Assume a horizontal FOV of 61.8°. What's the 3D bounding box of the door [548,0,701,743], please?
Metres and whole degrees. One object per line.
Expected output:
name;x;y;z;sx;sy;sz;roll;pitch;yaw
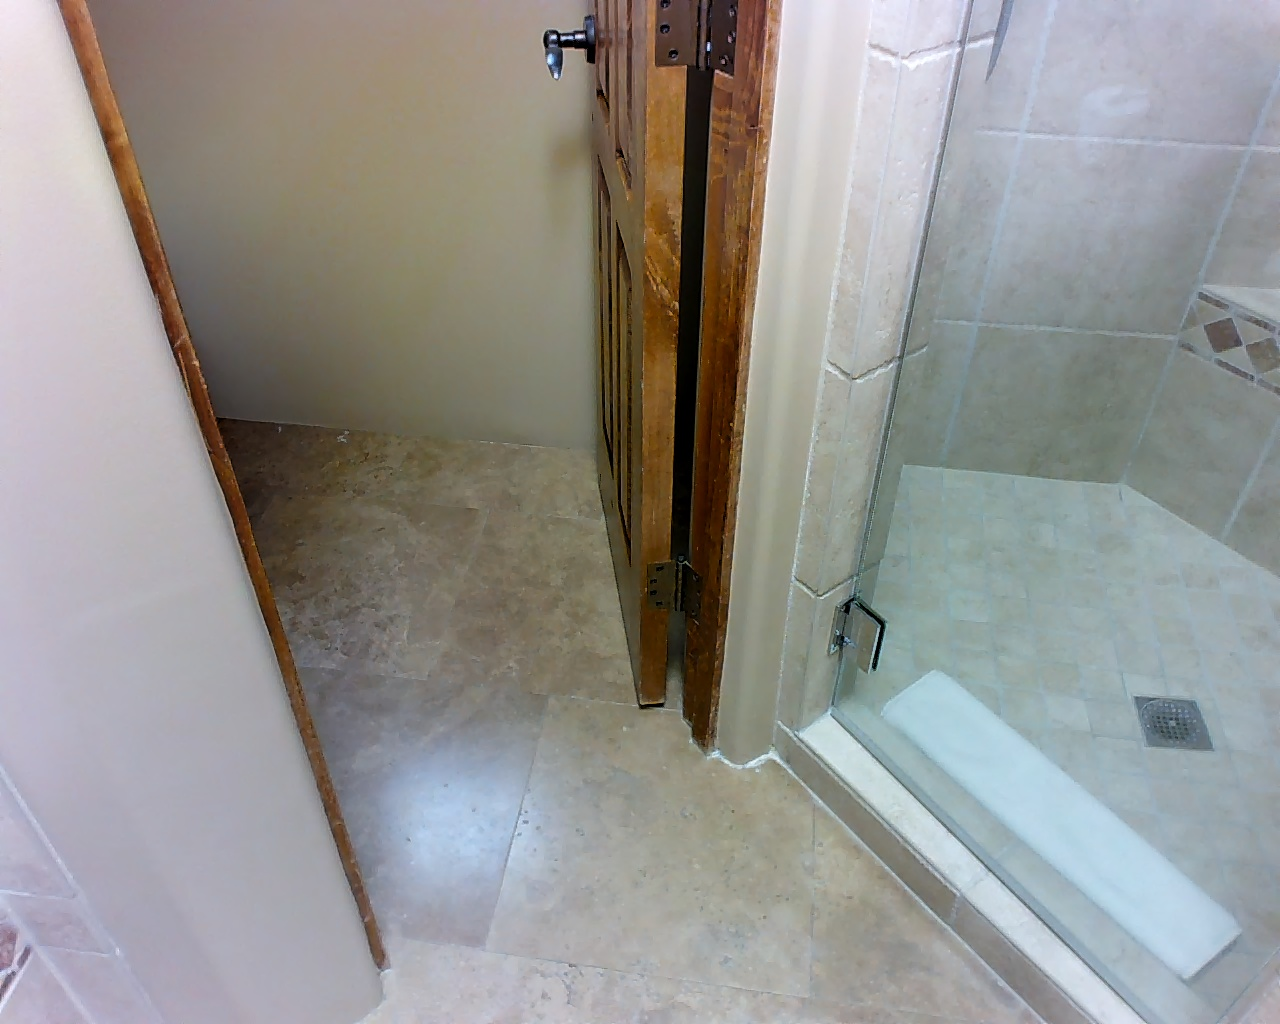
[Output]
door;-0.040;-0.630;1.320;0.140;2.120;0.630;-3;41;-4
